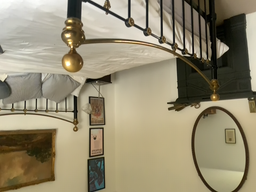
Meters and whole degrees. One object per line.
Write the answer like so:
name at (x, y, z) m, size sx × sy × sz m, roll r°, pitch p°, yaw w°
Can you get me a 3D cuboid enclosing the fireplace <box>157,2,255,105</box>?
fireplace at (1.060, -0.430, 2.760) m, size 1.280 × 1.000 × 0.460 m, roll -7°, pitch 171°, yaw 41°
